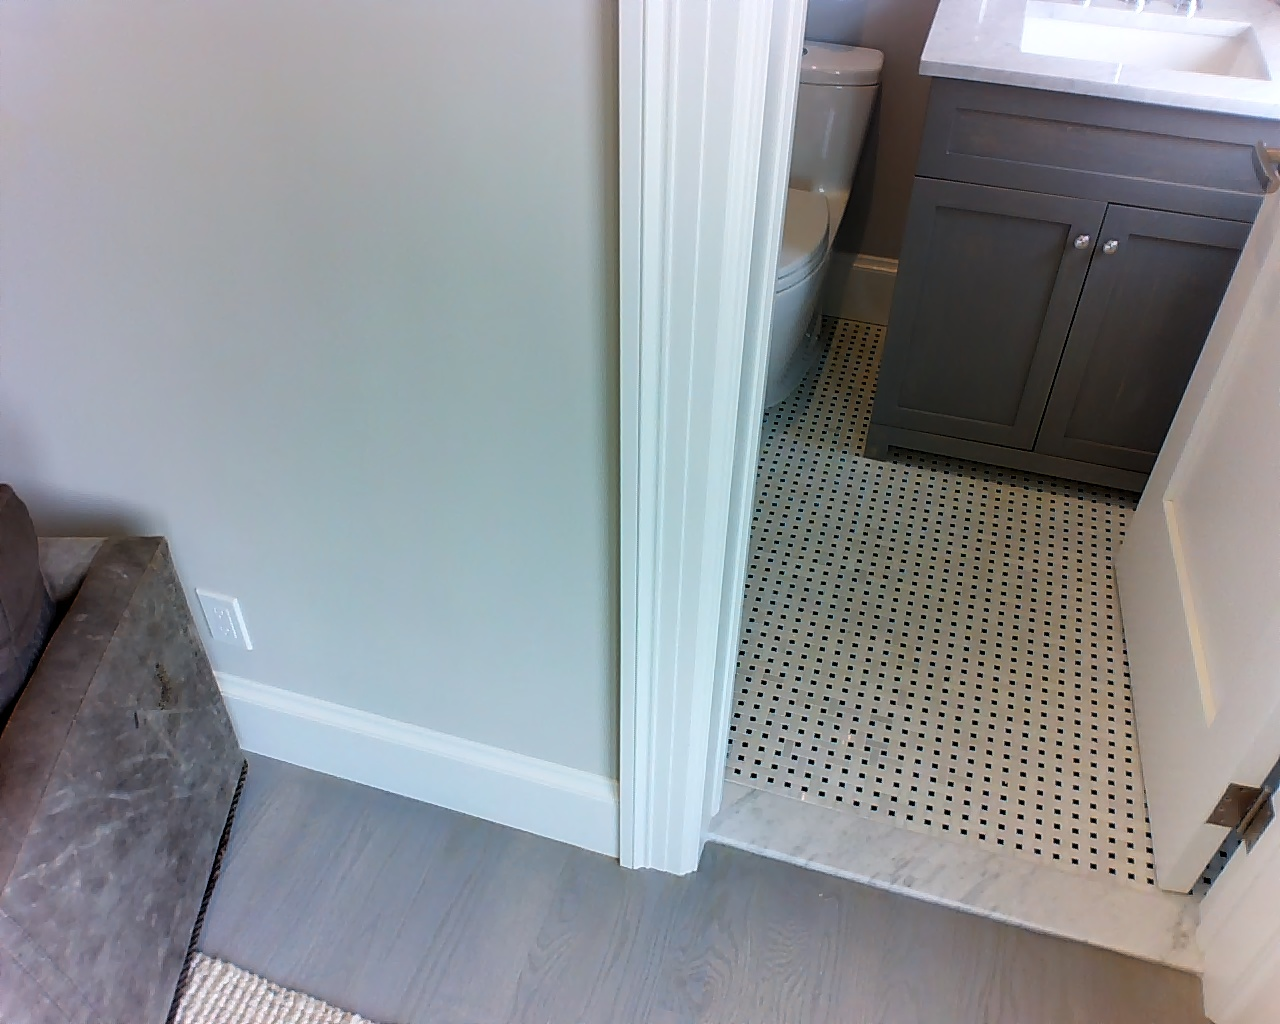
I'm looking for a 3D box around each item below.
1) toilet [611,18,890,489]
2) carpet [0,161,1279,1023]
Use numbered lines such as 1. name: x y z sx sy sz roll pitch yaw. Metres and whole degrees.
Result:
1. toilet: 0.260 -0.620 2.530 0.450 0.760 0.760 11 43 11
2. carpet: 0.090 0.030 2.340 2.460 0.010 3.070 12 43 13
